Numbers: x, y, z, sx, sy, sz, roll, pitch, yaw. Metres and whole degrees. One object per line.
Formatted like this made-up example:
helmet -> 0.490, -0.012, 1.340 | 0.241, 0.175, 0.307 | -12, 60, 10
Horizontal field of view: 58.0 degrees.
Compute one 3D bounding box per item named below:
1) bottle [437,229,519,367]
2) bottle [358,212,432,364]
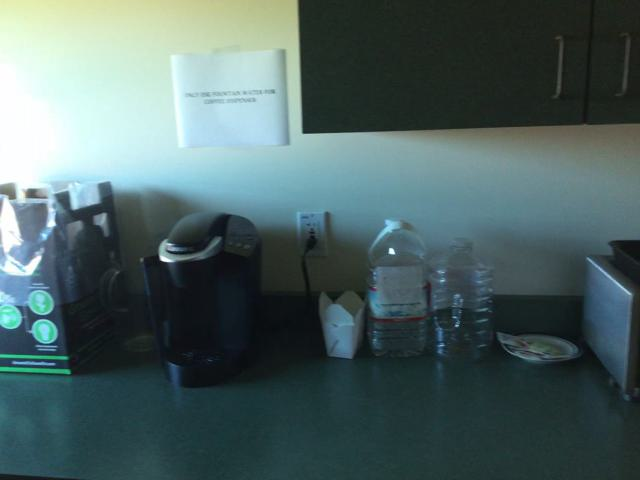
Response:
bottle -> 0.340, 0.120, 1.260 | 0.150, 0.260, 0.170 | -2, 9, 9
bottle -> 0.170, 0.100, 1.290 | 0.140, 0.300, 0.180 | -2, 9, 9
